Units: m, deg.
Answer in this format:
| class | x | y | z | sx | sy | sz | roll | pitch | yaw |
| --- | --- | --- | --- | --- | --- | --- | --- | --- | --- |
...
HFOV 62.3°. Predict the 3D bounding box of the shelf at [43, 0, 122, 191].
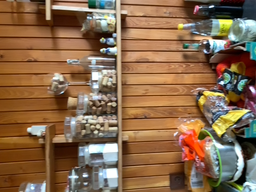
| class | x | y | z | sx | sy | sz | roll | pitch | yaw |
| --- | --- | --- | --- | --- | --- | --- | --- | --- | --- |
| shelf | -0.210 | -0.110 | 1.010 | 0.110 | 0.350 | 1.890 | 179 | 91 | -81 |
